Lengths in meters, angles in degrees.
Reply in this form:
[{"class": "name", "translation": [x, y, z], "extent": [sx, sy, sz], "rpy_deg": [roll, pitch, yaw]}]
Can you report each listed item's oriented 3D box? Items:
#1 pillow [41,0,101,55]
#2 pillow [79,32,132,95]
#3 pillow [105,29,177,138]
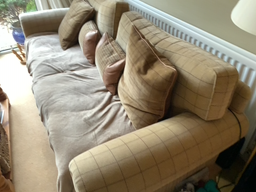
[{"class": "pillow", "translation": [-0.620, -0.800, 2.210], "extent": [0.210, 0.550, 0.530], "rpy_deg": [33, 13, -41]}, {"class": "pillow", "translation": [-0.190, -0.250, 1.640], "extent": [0.210, 0.330, 0.360], "rpy_deg": [5, 31, -32]}, {"class": "pillow", "translation": [0.030, -0.090, 1.230], "extent": [0.170, 0.430, 0.470], "rpy_deg": [-11, 39, -22]}]
